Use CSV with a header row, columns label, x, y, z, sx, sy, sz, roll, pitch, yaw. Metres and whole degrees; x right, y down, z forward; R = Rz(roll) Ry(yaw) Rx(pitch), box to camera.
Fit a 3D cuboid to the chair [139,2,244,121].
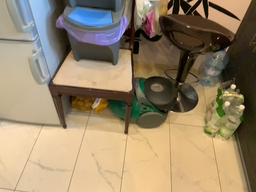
label,x,y,z,sx,sy,sz,roll,pitch,yaw
chair,0.410,-0.240,1.560,0.420,0.640,0.410,-33,59,-29
